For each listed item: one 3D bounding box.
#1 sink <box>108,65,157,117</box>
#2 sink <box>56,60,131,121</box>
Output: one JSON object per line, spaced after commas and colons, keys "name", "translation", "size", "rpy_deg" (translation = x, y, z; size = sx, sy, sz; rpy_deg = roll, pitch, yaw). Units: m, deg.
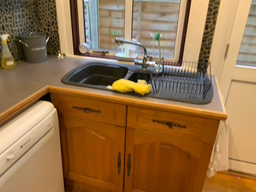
{"name": "sink", "translation": [0.050, -0.060, 1.480], "size": [0.220, 0.140, 0.510], "rpy_deg": [9, 27, 13]}
{"name": "sink", "translation": [-0.220, -0.070, 1.560], "size": [0.350, 0.220, 0.510], "rpy_deg": [9, 27, 13]}
